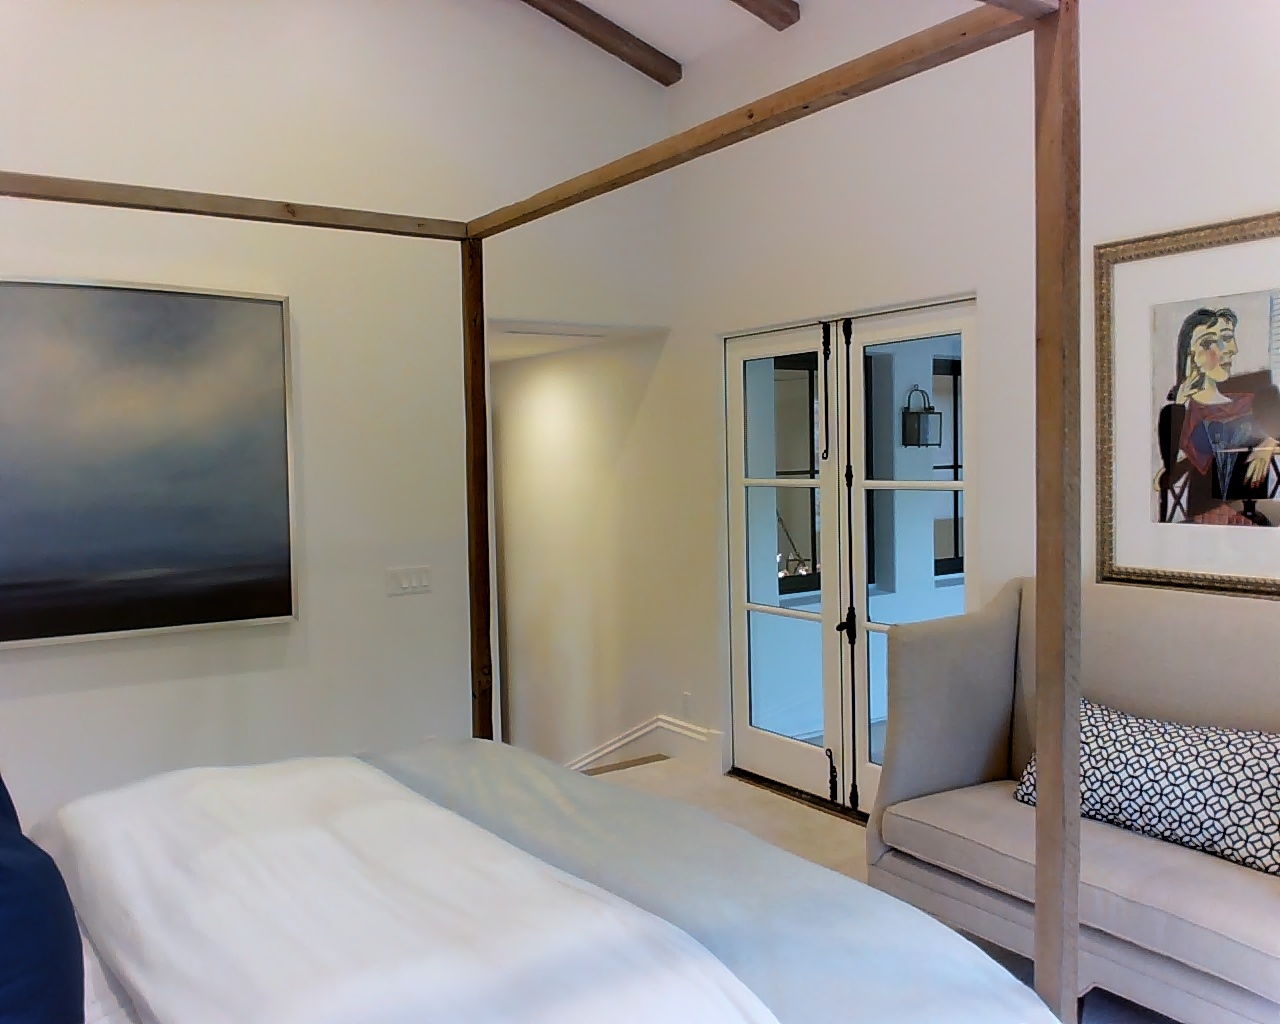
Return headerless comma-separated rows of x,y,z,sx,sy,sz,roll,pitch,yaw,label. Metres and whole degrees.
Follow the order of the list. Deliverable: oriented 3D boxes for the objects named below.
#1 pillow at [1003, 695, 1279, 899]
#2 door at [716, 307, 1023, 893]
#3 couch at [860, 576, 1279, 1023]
1.450,0.760,2.980,0.280,0.310,0.830,-4,5,-35,pillow
0.880,0.280,4.590,0.140,2.161,1.570,-4,7,-34,door
1.450,0.870,2.980,0.920,1.180,1.390,-4,5,-35,couch
